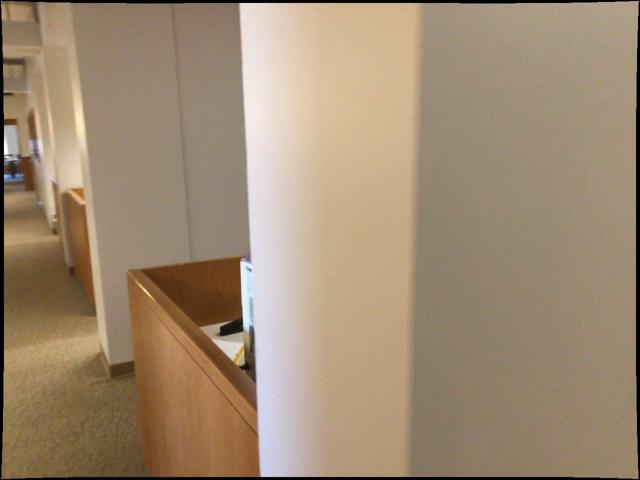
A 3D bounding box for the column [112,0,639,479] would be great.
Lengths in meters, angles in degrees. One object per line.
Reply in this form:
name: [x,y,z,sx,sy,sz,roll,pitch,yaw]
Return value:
column: [0.229,0.030,1.060,0.769,0.942,0.980,-20,32,-22]
